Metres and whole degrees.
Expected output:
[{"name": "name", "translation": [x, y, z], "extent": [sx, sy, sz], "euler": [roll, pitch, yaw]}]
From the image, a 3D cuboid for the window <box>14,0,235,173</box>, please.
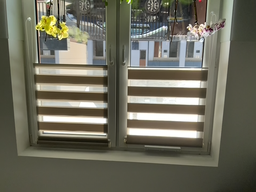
[{"name": "window", "translation": [-0.060, -0.300, 1.540], "extent": [1.440, 1.610, 0.220], "euler": [3, -169, 7]}]
